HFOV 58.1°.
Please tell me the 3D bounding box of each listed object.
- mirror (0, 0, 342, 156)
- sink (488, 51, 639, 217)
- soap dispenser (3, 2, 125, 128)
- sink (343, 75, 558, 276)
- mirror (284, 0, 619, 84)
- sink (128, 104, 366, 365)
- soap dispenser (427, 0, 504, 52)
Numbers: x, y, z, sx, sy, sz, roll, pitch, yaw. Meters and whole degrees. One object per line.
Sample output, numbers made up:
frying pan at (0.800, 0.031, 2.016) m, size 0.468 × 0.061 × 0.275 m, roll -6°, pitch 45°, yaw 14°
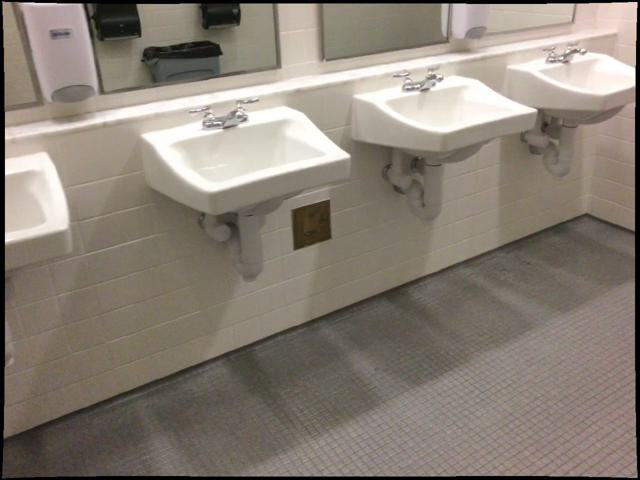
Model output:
mirror at (-0.748, -0.612, 1.670) m, size 1.787 × 0.641 × 0.190 m, roll -14°, pitch 27°, yaw -26°
sink at (1.117, -0.481, 2.460) m, size 0.569 × 0.551 × 0.450 m, roll -13°, pitch 27°, yaw -26°
soap dispenser at (-0.718, -0.501, 1.630) m, size 0.250 × 0.311 × 0.140 m, roll -14°, pitch 27°, yaw -26°
sink at (0.449, -0.271, 2.120) m, size 0.579 × 0.551 × 0.450 m, roll -13°, pitch 27°, yaw -26°
mirror at (0.618, -1.063, 2.370) m, size 1.577 × 0.641 × 0.270 m, roll -14°, pitch 27°, yaw -26°
sink at (-0.219, -0.060, 1.780) m, size 0.549 × 0.581 × 0.460 m, roll -14°, pitch 27°, yaw -26°
soap dispenser at (0.588, -0.942, 2.320) m, size 0.240 × 0.321 × 0.170 m, roll -13°, pitch 27°, yaw -26°
